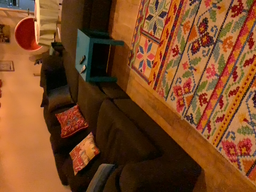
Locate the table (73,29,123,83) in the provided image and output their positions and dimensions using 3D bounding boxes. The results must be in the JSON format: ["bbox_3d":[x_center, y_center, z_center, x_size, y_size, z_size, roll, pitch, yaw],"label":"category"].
[{"bbox_3d":[-0.440,-0.550,2.910,0.580,0.440,0.550,46,131,51],"label":"table"}]
